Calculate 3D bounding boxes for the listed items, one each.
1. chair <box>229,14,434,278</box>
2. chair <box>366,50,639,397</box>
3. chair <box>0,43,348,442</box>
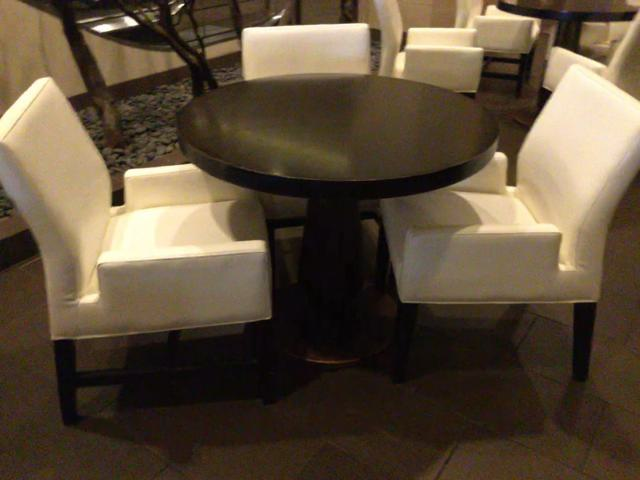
[{"bbox_3d":[0.010,-0.390,2.220,0.610,0.770,0.660,-7,30,-7],"label":"chair"},{"bbox_3d":[0.500,-0.080,1.780,0.690,0.830,0.670,1,31,6],"label":"chair"},{"bbox_3d":[-0.420,-0.040,1.720,0.880,0.870,0.700,-6,30,-6],"label":"chair"}]
